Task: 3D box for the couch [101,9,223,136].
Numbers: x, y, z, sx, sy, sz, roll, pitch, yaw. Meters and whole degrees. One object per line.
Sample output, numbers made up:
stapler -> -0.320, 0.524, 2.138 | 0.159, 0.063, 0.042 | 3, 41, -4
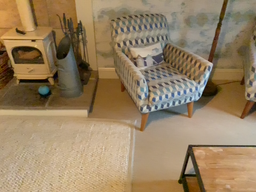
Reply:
couch -> 0.230, -0.310, 2.170 | 0.720, 0.830, 0.970 | -12, 38, -19
